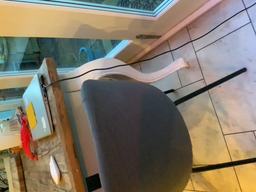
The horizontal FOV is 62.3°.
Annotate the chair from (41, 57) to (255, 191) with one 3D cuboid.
[{"bbox_3d":[0.120,0.180,0.960,0.500,0.780,0.540,-23,79,53],"label":"chair"}]
